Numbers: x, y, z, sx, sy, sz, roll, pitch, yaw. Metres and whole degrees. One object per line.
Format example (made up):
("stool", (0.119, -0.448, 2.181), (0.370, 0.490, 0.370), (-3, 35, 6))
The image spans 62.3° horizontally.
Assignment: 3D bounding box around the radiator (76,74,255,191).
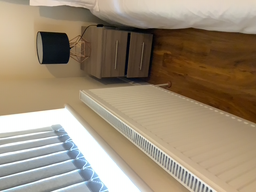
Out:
("radiator", (0.280, 0.090, 1.060), (1.210, 0.680, 0.090), (31, 120, 51))
